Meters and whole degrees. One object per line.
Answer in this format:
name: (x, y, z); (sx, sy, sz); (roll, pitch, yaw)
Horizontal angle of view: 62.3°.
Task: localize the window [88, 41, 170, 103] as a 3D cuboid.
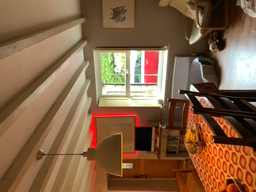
window: (0.010, -0.530, 4.780); (0.400, 1.690, 1.300); (-93, 4, -68)
